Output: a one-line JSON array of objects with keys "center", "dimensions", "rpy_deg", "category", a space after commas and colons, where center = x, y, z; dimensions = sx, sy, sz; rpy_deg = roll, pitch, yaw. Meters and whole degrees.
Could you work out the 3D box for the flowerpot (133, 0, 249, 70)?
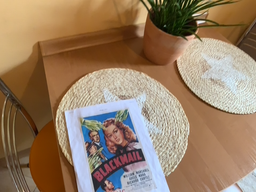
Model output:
[{"center": [0.190, -0.260, 0.710], "dimensions": [0.250, 0.240, 0.180], "rpy_deg": [-18, 62, -23], "category": "flowerpot"}]
